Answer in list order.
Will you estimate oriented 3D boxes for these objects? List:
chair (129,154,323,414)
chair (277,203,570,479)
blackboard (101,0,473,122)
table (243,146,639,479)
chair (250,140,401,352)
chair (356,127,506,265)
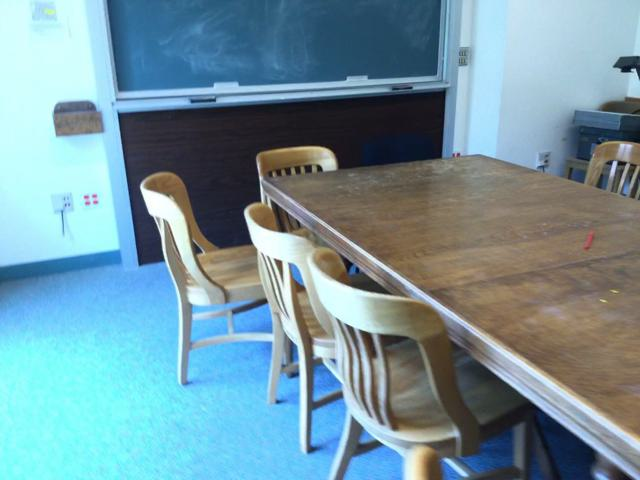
[{"bbox_3d":[-0.410,0.140,2.480,0.620,0.860,0.590,-10,19,-18],"label":"chair"},{"bbox_3d":[0.260,0.410,1.660,0.550,0.850,0.570,-10,19,-18],"label":"chair"},{"bbox_3d":[-0.100,-1.380,3.560,2.320,1.020,0.180,-11,19,-18],"label":"blackboard"},{"bbox_3d":[0.910,0.500,1.330,1.300,0.810,3.610,-10,19,-18],"label":"table"},{"bbox_3d":[0.020,-0.010,2.820,0.500,0.830,0.590,-11,19,-18],"label":"chair"},{"bbox_3d":[0.550,-0.260,2.990,0.490,0.530,0.630,-11,19,-18],"label":"chair"}]
